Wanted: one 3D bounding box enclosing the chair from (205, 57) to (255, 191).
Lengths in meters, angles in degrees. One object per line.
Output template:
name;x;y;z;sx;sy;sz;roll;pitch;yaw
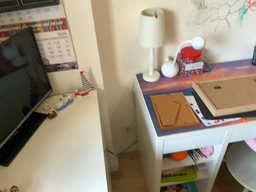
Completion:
chair;0.810;0.230;1.310;0.350;0.820;0.450;-7;38;-4

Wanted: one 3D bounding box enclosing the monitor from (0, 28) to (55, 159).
monitor;-0.470;0.010;0.800;0.040;0.340;0.540;7;39;12
